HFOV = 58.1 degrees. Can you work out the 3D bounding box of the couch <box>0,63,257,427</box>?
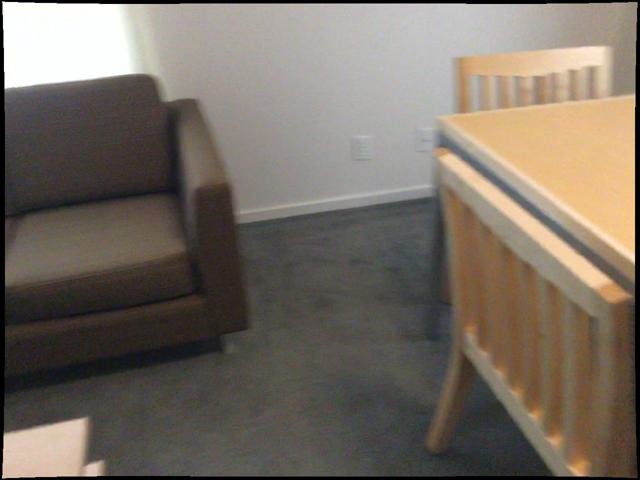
[{"bbox_3d":[-1.317,0.040,1.870,2.015,0.832,0.890,-10,27,-11],"label":"couch"}]
